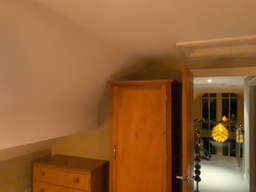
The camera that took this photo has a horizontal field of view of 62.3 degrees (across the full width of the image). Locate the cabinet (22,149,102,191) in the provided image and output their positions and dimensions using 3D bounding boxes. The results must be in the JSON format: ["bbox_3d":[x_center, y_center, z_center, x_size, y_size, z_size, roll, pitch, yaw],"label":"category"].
[{"bbox_3d":[-0.850,1.220,2.750,0.890,0.860,0.480,0,-1,22],"label":"cabinet"}]
